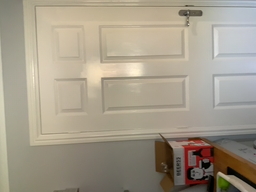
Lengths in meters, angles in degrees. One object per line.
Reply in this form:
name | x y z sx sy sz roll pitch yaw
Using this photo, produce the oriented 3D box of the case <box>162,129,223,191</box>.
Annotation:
case | 0.420 0.640 1.400 0.250 0.300 0.790 180 88 -84
